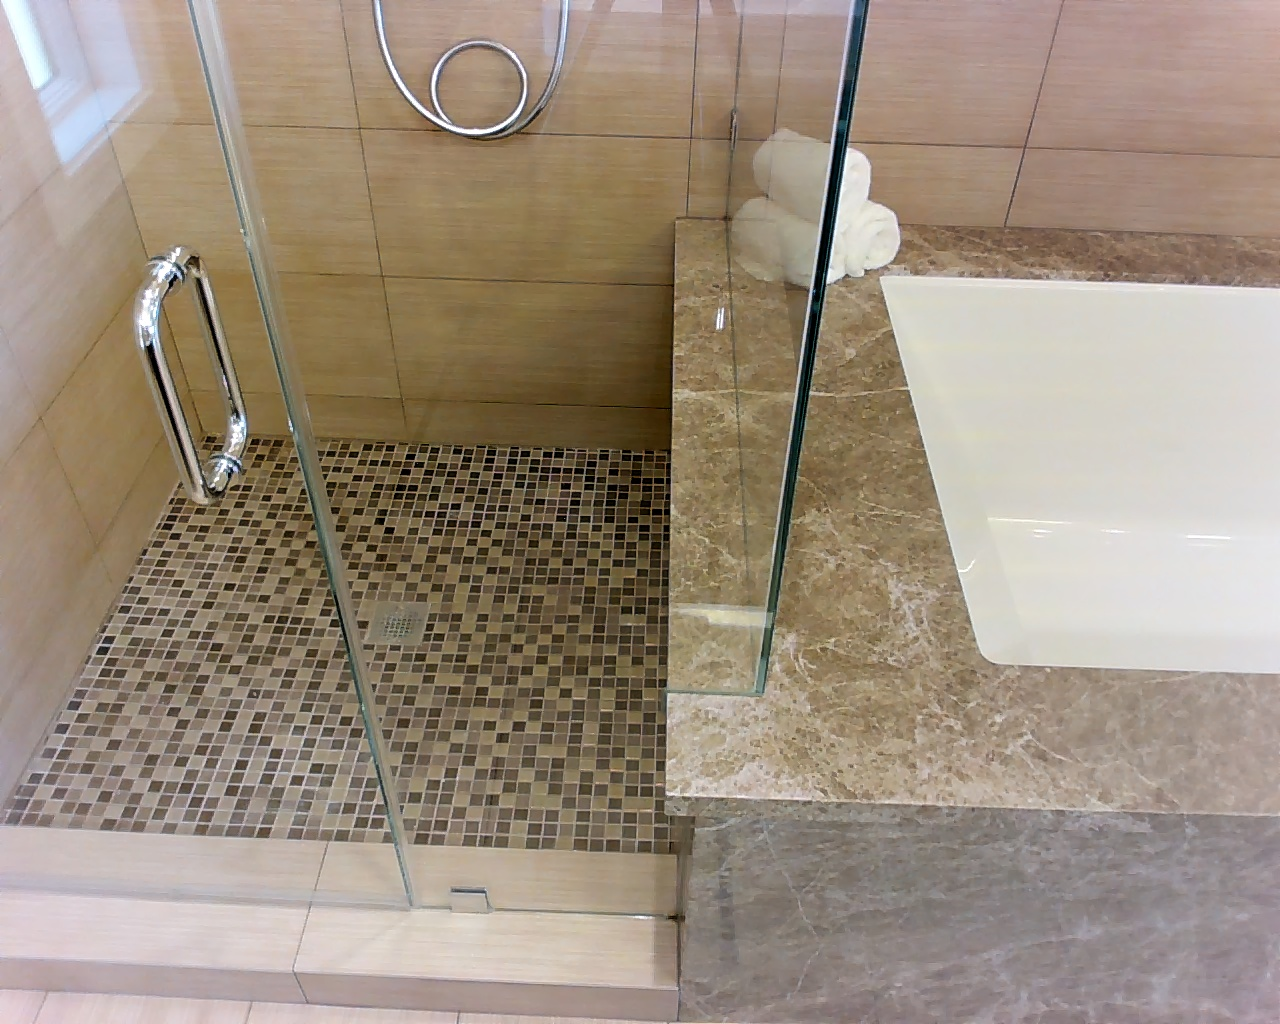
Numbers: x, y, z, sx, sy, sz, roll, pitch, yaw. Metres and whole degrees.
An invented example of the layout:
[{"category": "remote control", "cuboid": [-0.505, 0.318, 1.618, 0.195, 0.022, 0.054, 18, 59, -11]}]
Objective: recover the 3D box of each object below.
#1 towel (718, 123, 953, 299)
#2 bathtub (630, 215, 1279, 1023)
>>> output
[{"category": "towel", "cuboid": [0.320, -0.520, 1.850, 0.340, 0.210, 0.230, -1, 42, -2]}, {"category": "bathtub", "cuboid": [1.190, 0.150, 1.710, 2.360, 0.650, 1.240, 2, 42, 1]}]
